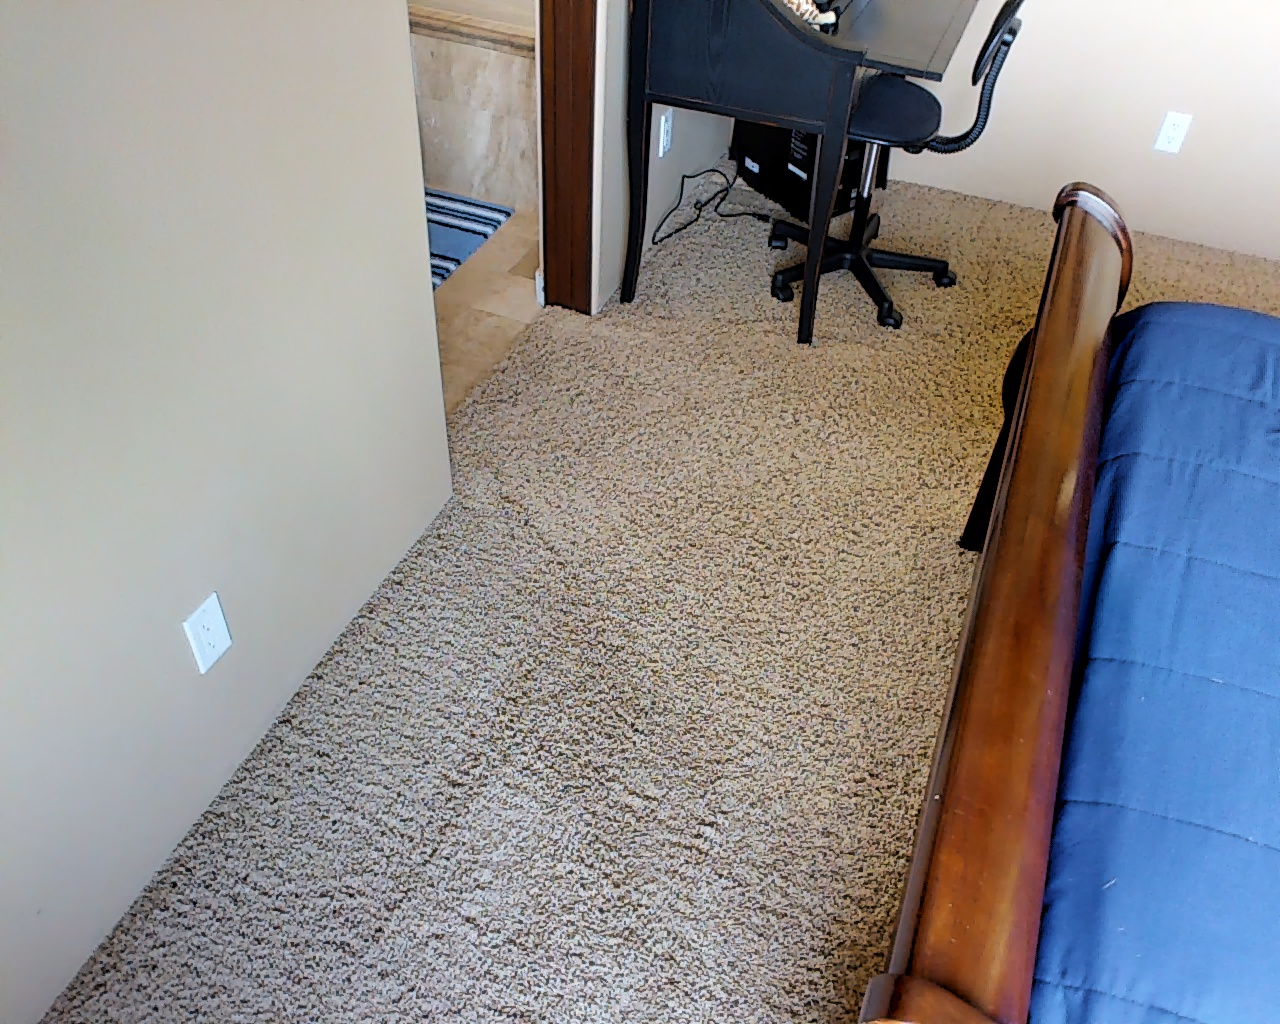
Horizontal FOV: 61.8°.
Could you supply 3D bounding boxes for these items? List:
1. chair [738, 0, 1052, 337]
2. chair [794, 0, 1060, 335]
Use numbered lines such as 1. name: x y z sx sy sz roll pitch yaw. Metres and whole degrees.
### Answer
1. chair: 0.660 -1.010 2.770 0.580 0.820 0.560 17 44 13
2. chair: 0.740 -0.980 2.740 0.440 0.780 0.570 17 44 13
